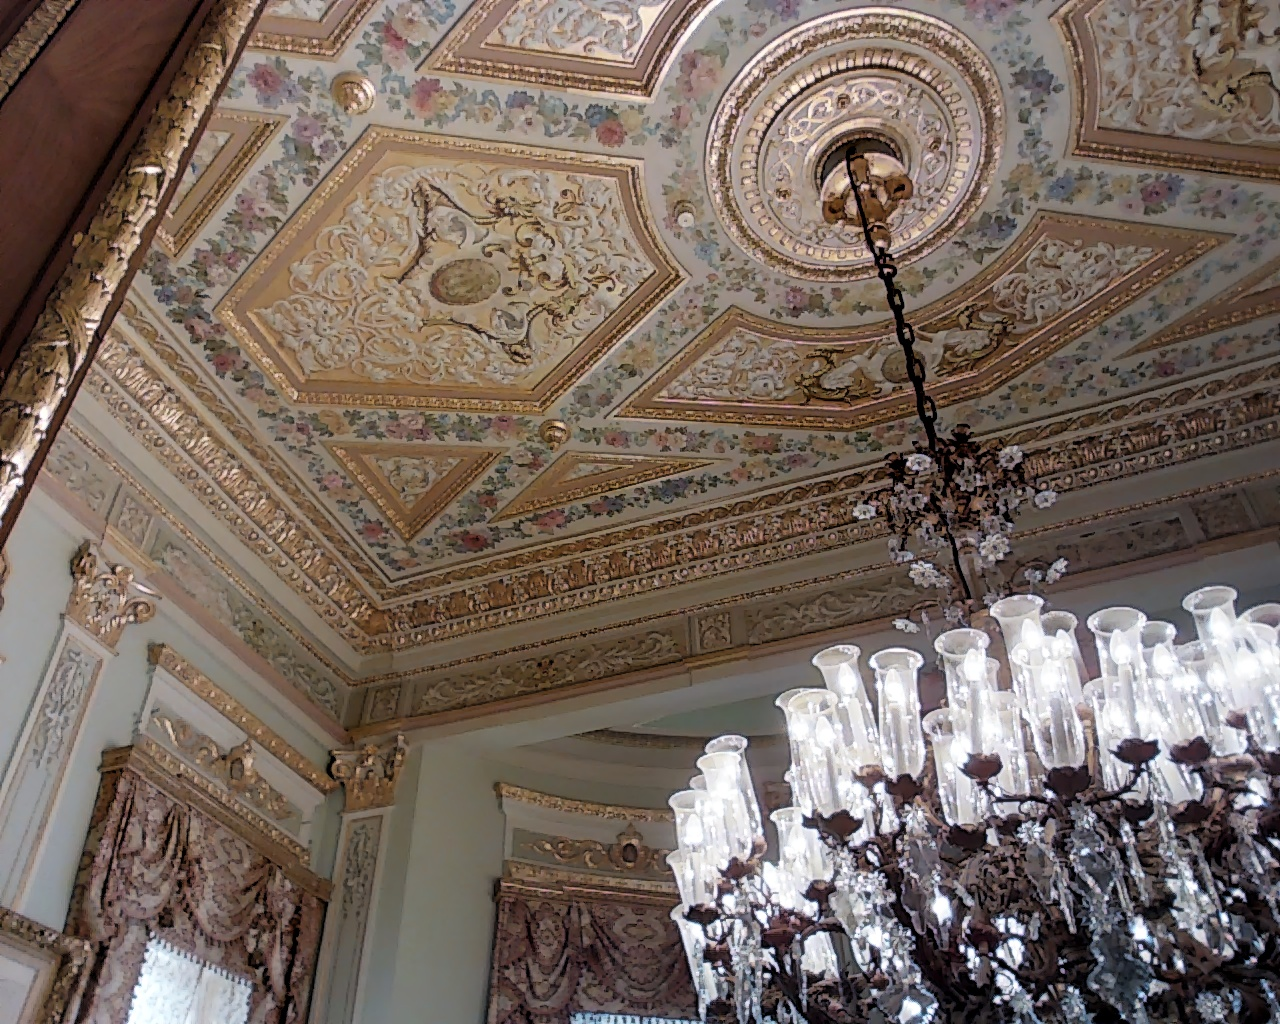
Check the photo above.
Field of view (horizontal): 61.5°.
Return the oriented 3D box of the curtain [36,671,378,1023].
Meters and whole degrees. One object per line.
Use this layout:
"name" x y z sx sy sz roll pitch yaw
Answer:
"curtain" -2.158 3.302 4.860 0.200 4.882 1.950 -15 -44 15
